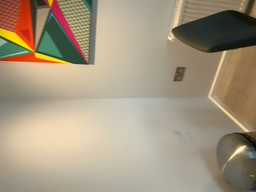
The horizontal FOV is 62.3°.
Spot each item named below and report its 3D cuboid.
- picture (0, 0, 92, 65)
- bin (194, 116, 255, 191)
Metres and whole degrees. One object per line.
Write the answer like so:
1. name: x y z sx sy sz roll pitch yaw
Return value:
1. picture: -0.640 -0.800 1.340 0.060 0.830 1.240 -116 29 -56
2. bin: 0.850 0.340 1.220 0.330 0.770 0.320 -112 27 -52
